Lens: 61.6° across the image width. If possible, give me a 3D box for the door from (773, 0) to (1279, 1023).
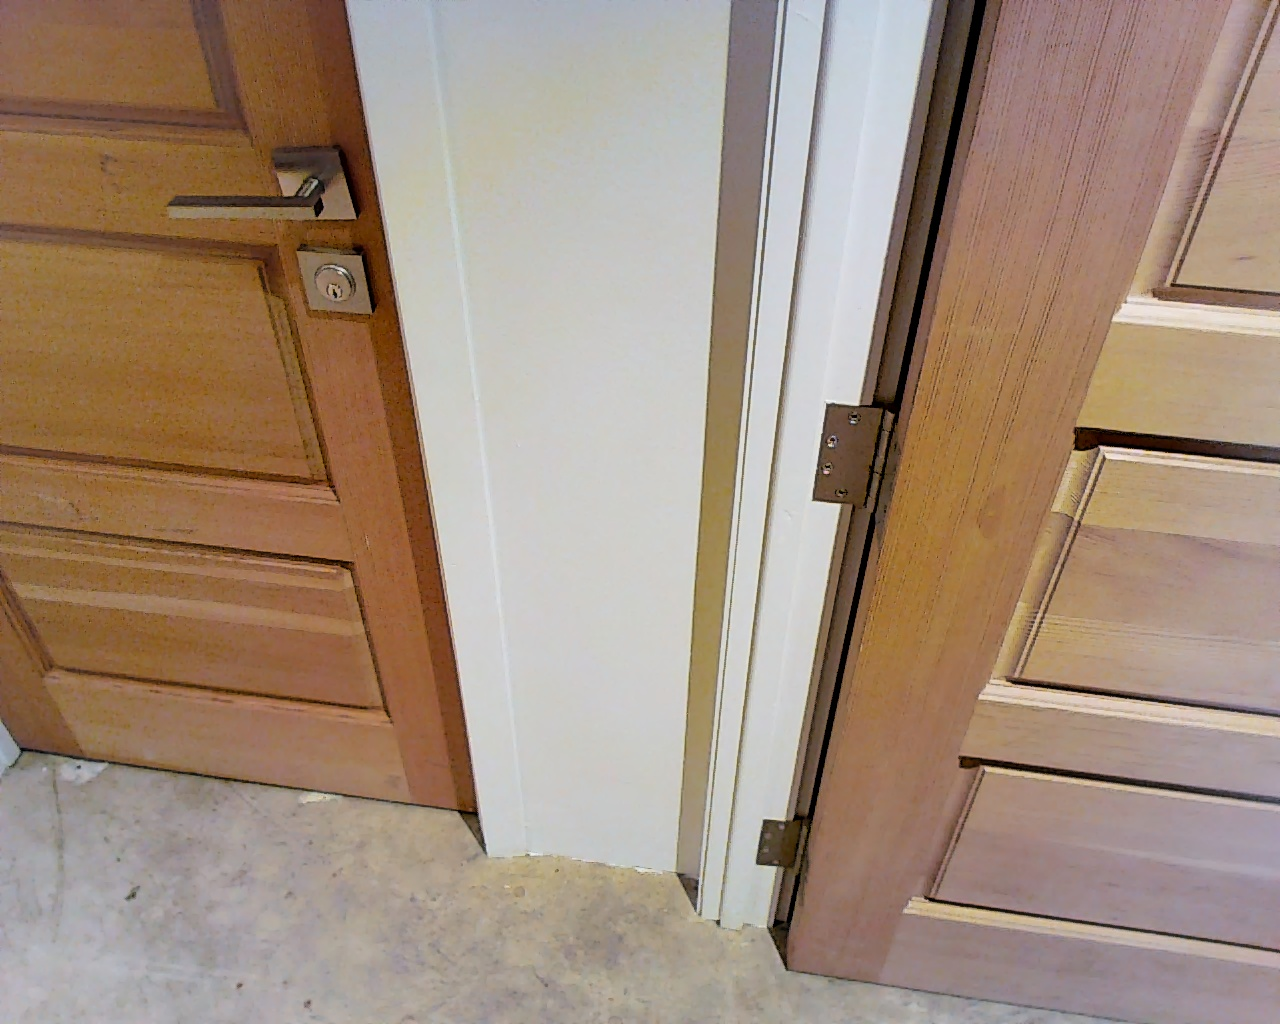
[{"bbox_3d":[0.570,-0.200,0.670,0.750,2.400,0.030,7,43,6],"label":"door"}]
